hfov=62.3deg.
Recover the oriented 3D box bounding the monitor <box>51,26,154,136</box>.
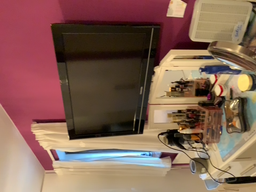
[{"bbox_3d":[-0.140,-0.030,1.230,0.030,0.480,0.730,-97,9,-52],"label":"monitor"}]
